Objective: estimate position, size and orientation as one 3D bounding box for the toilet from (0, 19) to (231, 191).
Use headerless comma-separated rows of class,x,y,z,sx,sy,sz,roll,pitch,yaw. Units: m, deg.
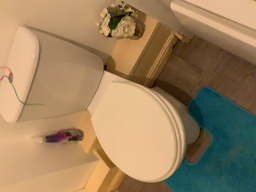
toilet,-0.040,0.080,0.930,0.640,0.750,0.370,42,113,32
